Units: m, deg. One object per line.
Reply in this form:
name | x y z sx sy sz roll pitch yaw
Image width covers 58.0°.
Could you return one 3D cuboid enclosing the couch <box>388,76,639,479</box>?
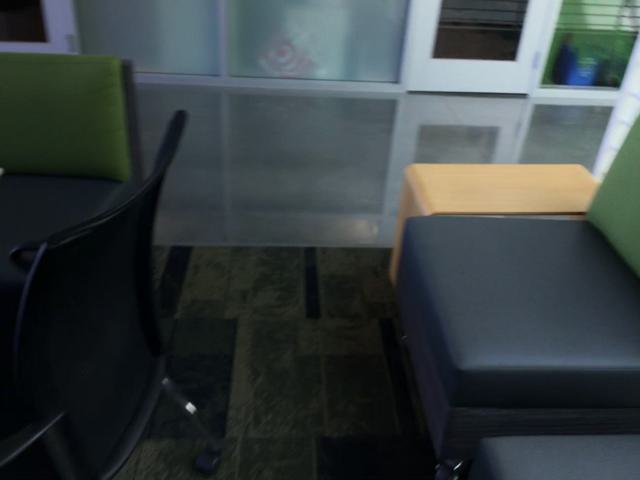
couch | 0.620 0.130 1.480 0.710 0.890 0.700 4 27 -2
